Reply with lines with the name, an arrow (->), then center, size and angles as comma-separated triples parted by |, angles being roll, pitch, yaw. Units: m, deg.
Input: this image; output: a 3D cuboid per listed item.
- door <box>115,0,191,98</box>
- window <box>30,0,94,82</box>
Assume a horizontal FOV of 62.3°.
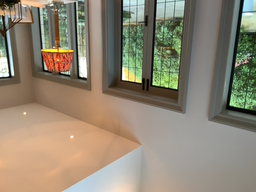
door -> 0.320, -1.160, 3.300 | 1.310, 2.170, 0.110 | 14, -160, 40
window -> -1.550, -1.400, 4.780 | 2.240, 1.850, 0.120 | 14, -161, 39
